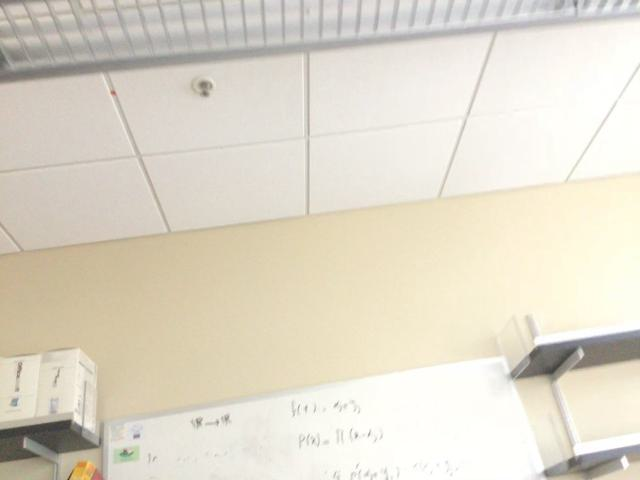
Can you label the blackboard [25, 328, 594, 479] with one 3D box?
[{"bbox_3d":[0.020,1.070,1.820,1.790,1.320,0.270,-8,-31,-6],"label":"blackboard"}]
